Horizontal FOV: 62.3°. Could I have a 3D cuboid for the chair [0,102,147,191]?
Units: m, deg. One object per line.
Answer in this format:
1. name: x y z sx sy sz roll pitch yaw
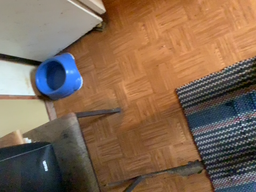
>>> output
1. chair: -0.340 0.330 0.870 0.470 0.790 0.460 -23 80 23
